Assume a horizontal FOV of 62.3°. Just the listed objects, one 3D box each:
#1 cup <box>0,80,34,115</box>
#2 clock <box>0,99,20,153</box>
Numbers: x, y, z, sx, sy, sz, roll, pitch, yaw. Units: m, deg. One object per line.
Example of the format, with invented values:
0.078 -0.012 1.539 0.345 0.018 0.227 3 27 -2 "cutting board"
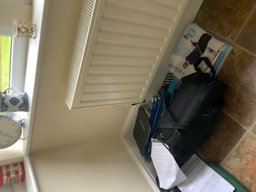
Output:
-0.610 0.000 1.140 0.180 0.150 0.110 41 124 44 "cup"
-0.740 0.170 1.150 0.150 0.240 0.260 47 128 41 "clock"
